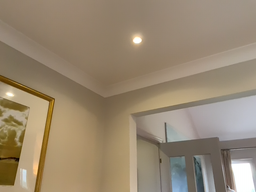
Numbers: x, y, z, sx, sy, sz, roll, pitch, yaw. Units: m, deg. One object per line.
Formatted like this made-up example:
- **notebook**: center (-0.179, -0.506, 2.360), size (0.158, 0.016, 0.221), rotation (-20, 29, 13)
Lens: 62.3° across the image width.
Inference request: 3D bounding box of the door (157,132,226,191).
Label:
- **door**: center (0.830, 1.550, 2.650), size (0.810, 2.070, 0.180), rotation (-15, -27, 32)
